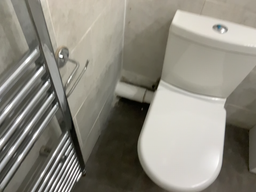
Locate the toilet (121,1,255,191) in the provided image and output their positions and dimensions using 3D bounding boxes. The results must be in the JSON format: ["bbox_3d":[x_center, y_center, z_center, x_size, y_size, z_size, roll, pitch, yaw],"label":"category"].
[{"bbox_3d":[0.280,0.120,1.060,0.390,0.800,0.690,17,54,8],"label":"toilet"}]
